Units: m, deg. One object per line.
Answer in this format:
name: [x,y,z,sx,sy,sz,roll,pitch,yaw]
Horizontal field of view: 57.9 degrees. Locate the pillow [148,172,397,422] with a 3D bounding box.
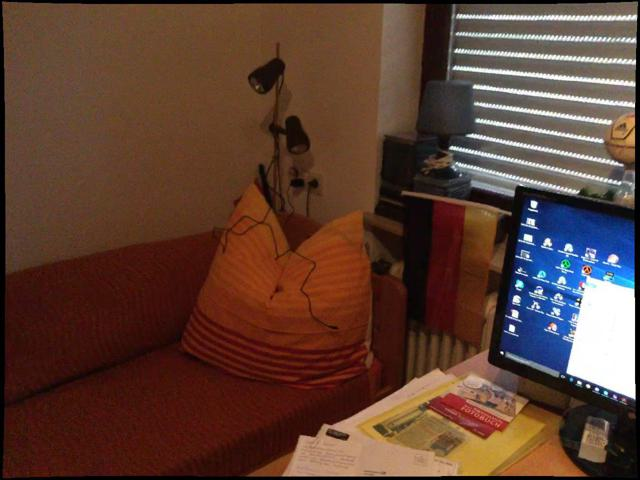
pillow: [-0.140,0.120,1.850,0.520,0.581,0.530,-18,19,-42]
